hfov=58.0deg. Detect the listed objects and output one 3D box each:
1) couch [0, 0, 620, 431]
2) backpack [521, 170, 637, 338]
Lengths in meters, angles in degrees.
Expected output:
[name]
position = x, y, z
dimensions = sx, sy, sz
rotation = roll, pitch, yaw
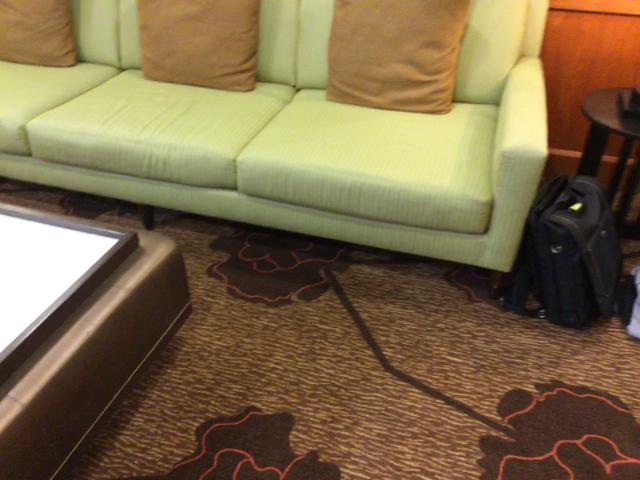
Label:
[couch]
position = -0.530, -0.660, 2.520
dimensions = 0.810, 0.960, 3.050
rotation = -27, 44, -35
[backpack]
position = 0.880, 0.030, 1.950
dimensions = 0.280, 0.420, 0.360
rotation = 5, 32, 33
